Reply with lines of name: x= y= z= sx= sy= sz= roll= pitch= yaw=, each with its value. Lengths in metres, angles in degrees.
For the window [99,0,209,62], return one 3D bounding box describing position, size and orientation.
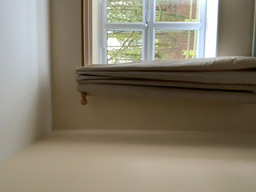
window: x=0.230 y=-0.720 z=1.950 sx=0.040 sy=0.990 sz=0.790 roll=-79 pitch=-11 yaw=-83
